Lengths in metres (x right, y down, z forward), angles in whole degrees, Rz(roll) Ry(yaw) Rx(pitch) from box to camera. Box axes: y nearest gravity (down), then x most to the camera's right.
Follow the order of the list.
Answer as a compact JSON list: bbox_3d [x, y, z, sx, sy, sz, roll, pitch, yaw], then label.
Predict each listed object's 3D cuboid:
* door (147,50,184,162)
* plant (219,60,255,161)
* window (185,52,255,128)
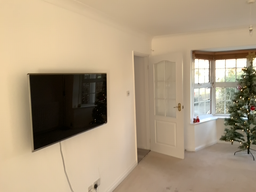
[{"bbox_3d":[0.720,0.180,4.120,0.760,2.040,0.090,4,9,45],"label":"door"},{"bbox_3d":[2.390,0.220,4.070,1.040,1.770,0.920,2,7,30],"label":"plant"},{"bbox_3d":[2.450,-0.150,4.230,2.380,1.340,1.000,2,7,28],"label":"window"}]
